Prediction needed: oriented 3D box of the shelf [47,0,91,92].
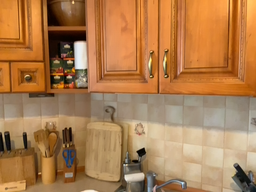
[{"bbox_3d":[-0.330,-0.500,1.140,0.190,0.930,0.330,-2,6,-19],"label":"shelf"}]
